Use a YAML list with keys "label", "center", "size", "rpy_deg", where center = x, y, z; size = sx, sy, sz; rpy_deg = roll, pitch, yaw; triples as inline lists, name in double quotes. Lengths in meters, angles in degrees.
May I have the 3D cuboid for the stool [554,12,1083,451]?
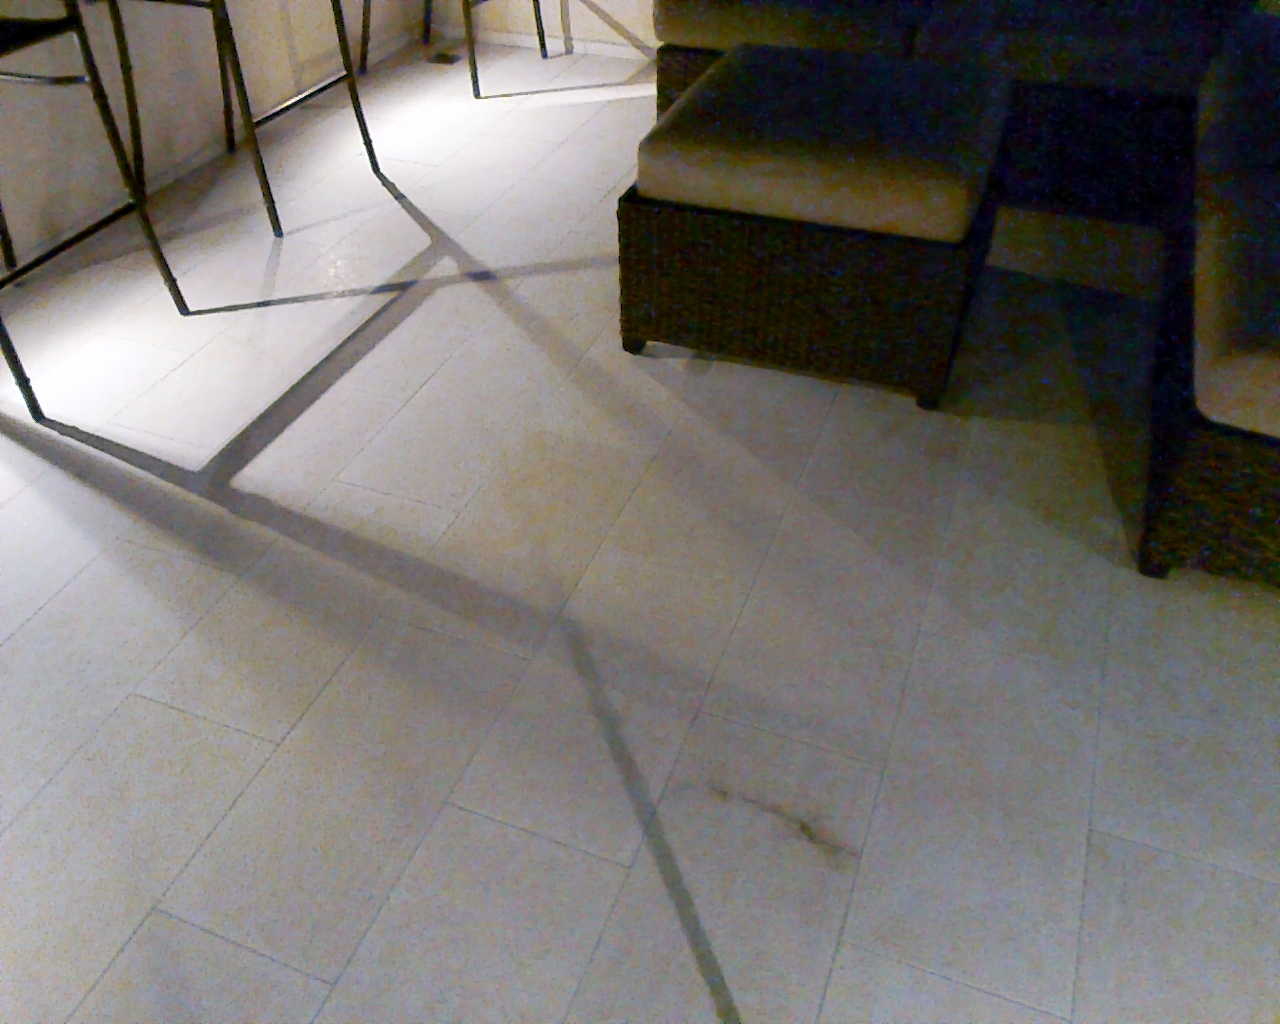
- label: "stool"
  center: [0.450, -0.740, 2.620]
  size: [0.980, 0.610, 0.870]
  rpy_deg: [14, 43, 19]
